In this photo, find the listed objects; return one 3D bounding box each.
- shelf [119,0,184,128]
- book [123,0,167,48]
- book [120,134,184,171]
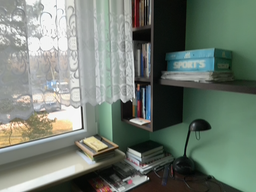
[{"bbox_3d":[0.140,-0.430,1.350,0.270,1.190,0.300,-8,13,-36],"label":"shelf"},{"bbox_3d":[0.100,-0.470,1.320,0.140,0.320,0.240,-8,13,-36],"label":"book"},{"bbox_3d":[0.160,0.380,1.490,0.320,0.070,0.310,-8,13,-34],"label":"book"}]
